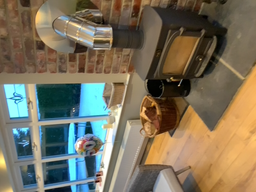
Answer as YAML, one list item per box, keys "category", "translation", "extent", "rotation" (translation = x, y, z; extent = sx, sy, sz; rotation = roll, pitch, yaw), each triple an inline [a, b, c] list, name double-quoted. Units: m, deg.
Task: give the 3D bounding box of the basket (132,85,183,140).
- category: "basket"
  translation: [0.340, 0.200, 2.630]
  extent: [0.430, 0.350, 0.520]
  rotation: [-113, 29, -43]

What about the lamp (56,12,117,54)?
- category: "lamp"
  translation: [-0.360, -0.530, 1.810]
  extent: [0.180, 0.470, 0.260]
  rotation: [-116, 31, -46]
